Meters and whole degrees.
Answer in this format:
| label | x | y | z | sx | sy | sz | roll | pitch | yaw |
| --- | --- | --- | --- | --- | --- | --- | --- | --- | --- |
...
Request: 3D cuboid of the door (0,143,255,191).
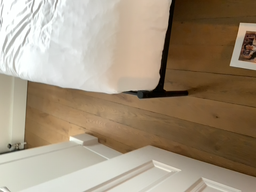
| label | x | y | z | sx | sy | sz | roll | pitch | yaw |
| --- | --- | --- | --- | --- | --- | --- | --- | --- | --- |
| door | -0.250 | 0.380 | 0.350 | 0.770 | 1.980 | 0.020 | 7 | 96 | 38 |
